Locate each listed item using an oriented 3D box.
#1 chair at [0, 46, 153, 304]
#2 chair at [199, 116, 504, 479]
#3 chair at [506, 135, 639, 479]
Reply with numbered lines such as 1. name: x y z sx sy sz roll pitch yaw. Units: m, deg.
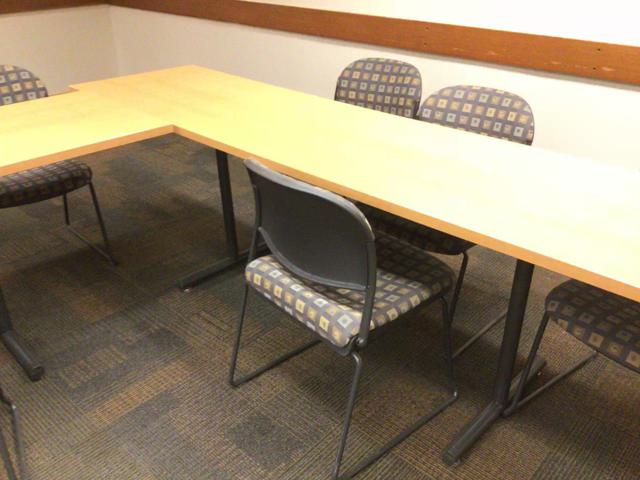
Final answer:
1. chair: -1.070 -0.290 2.200 0.610 0.760 0.650 -13 30 -30
2. chair: 0.070 0.110 1.610 0.510 0.730 0.580 25 33 38
3. chair: 0.860 0.170 1.430 0.420 0.740 0.570 25 33 38
